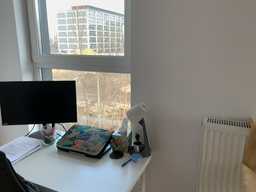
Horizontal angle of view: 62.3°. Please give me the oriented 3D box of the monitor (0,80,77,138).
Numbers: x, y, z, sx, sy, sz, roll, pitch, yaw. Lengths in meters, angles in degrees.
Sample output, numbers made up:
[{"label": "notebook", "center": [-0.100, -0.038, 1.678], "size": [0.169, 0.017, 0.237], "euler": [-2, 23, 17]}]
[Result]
[{"label": "monitor", "center": [-0.680, 0.110, 1.620], "size": [0.550, 0.430, 0.050], "euler": [3, 14, -9]}]
